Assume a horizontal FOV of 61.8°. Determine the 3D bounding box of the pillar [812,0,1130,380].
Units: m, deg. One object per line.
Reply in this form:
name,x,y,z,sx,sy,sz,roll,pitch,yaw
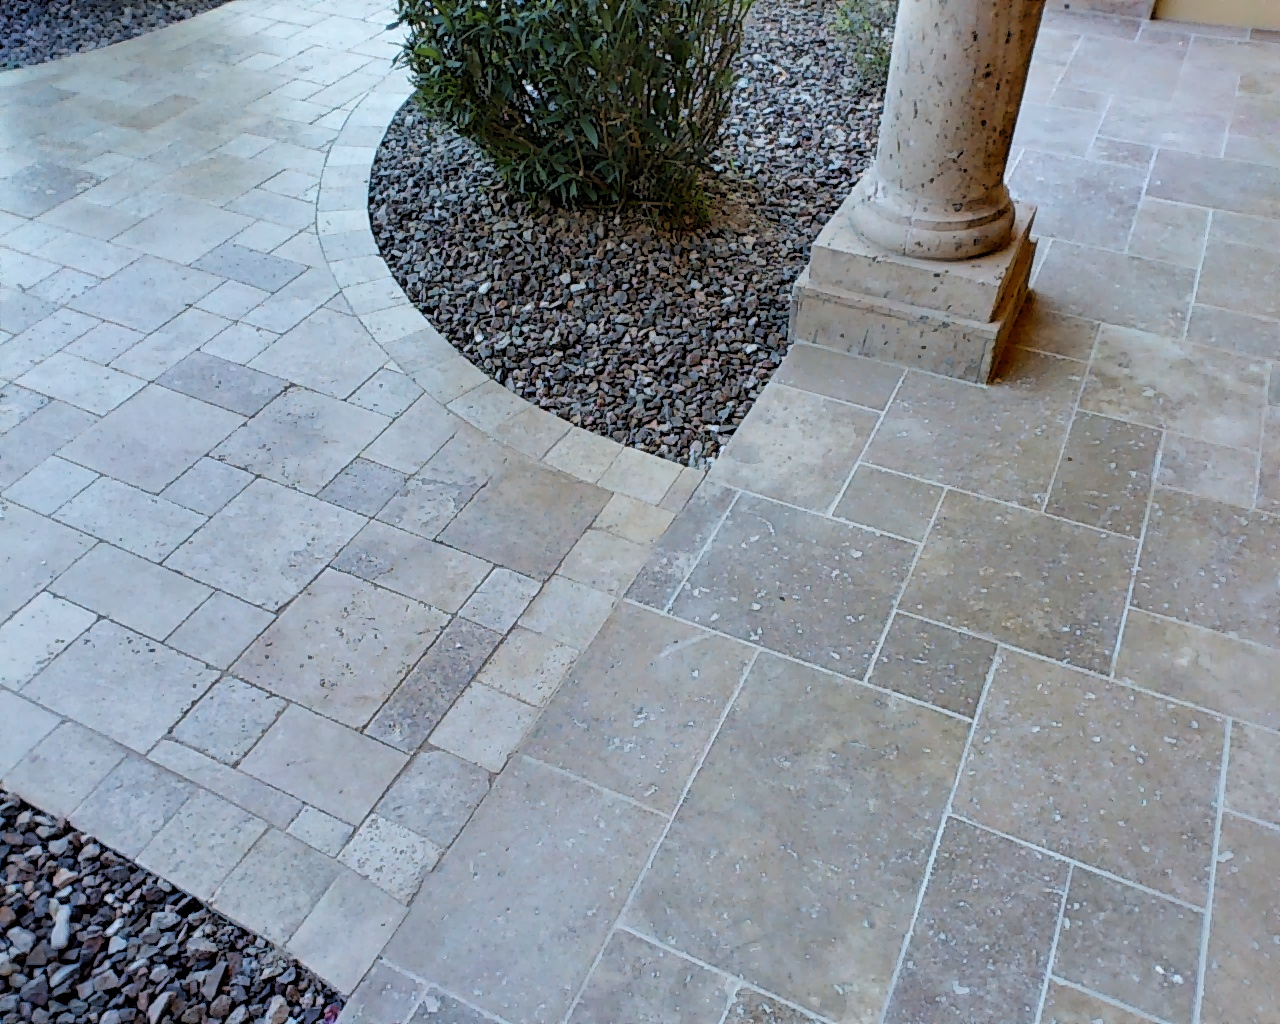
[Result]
pillar,0.780,-1.369,2.110,0.490,2.160,0.620,18,46,20
